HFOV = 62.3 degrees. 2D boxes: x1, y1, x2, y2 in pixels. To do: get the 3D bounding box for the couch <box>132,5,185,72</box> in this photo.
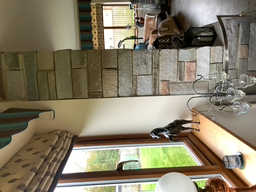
[{"bbox_3d":[0.610,-1.330,4.880,1.030,0.910,1.140,-97,6,-47],"label":"couch"}]
